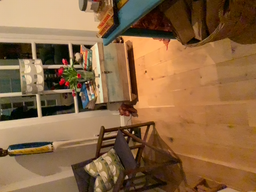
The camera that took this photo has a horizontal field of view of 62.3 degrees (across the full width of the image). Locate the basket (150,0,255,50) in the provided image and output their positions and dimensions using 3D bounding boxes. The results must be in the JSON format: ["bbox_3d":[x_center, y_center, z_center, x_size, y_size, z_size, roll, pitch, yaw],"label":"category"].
[{"bbox_3d":[0.470,-0.560,1.270,0.430,0.500,0.450,-14,83,62],"label":"basket"}]
